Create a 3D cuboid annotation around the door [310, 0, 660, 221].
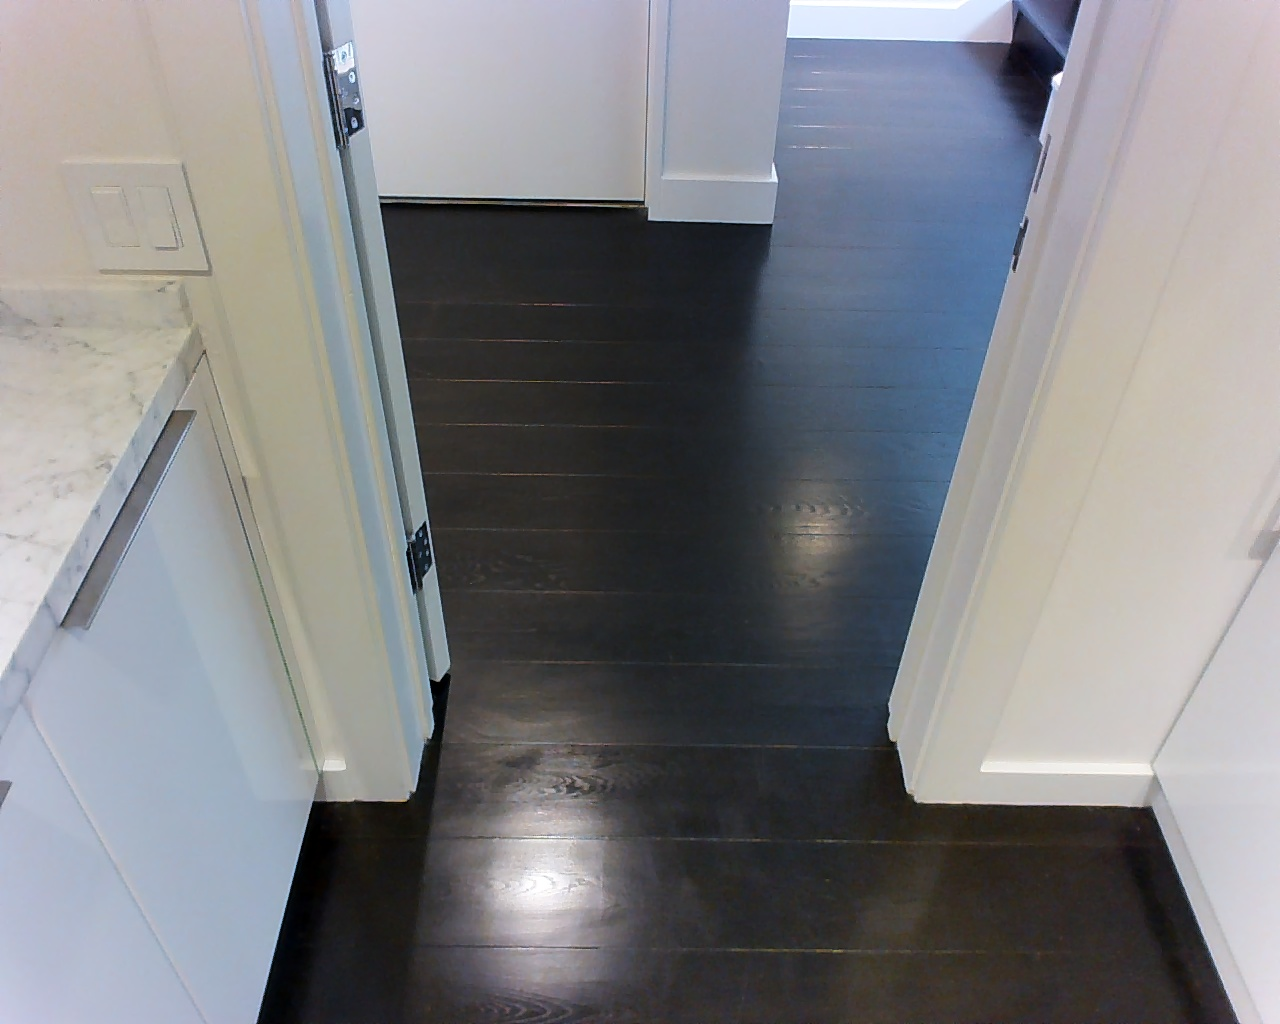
[{"bbox_3d":[-0.410,-1.710,2.660,0.940,2.060,0.110,1,41,0],"label":"door"}]
